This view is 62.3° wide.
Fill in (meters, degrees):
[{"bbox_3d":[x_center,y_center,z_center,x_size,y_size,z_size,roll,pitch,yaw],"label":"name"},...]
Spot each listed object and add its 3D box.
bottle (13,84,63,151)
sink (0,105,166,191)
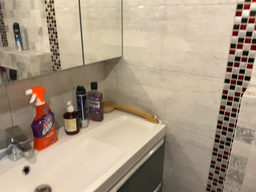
[{"bbox_3d":[-0.400,0.090,0.960,0.110,0.250,0.140,12,24,28],"label":"bottle"},{"bbox_3d":[-0.260,0.300,0.920,0.460,0.110,0.990,14,25,32],"label":"sink"}]
